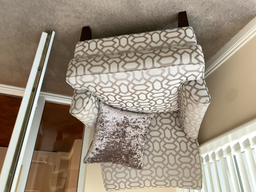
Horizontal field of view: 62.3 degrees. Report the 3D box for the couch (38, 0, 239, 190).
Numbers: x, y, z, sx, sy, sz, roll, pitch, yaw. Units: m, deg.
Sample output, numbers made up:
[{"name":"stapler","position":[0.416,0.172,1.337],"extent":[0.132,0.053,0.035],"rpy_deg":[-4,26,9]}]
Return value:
[{"name":"couch","position":[0.090,0.090,1.430],"extent":[0.790,0.900,0.890],"rpy_deg":[-5,150,9]}]
